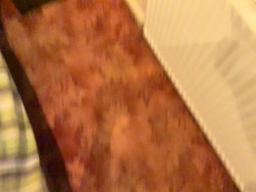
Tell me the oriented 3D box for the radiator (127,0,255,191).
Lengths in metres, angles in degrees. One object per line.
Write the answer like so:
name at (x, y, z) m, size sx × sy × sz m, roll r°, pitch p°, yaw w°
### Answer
radiator at (0.390, 0.140, 0.700) m, size 0.070 × 0.640 × 1.540 m, roll -27°, pitch 74°, yaw -8°
